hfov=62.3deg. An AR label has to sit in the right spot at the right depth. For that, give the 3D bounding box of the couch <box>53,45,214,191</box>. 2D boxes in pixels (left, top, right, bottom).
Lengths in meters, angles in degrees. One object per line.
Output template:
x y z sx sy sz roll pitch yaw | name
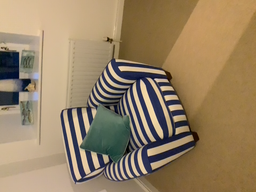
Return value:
-0.050 0.250 1.900 0.950 0.830 0.910 -42 59 47 | couch
